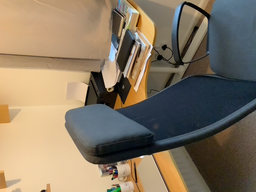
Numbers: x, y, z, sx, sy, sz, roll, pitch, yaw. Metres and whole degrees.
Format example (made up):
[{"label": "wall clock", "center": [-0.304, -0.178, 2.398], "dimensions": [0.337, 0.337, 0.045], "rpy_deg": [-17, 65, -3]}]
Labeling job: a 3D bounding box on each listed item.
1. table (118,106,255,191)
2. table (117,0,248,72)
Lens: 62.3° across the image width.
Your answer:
[{"label": "table", "center": [0.480, 0.610, 1.350], "dimensions": [0.830, 0.730, 0.680], "rpy_deg": [-116, 35, -41]}, {"label": "table", "center": [0.370, -0.450, 1.550], "dimensions": [0.550, 0.730, 0.240], "rpy_deg": [-116, 35, -41]}]
